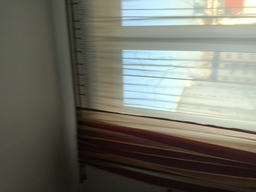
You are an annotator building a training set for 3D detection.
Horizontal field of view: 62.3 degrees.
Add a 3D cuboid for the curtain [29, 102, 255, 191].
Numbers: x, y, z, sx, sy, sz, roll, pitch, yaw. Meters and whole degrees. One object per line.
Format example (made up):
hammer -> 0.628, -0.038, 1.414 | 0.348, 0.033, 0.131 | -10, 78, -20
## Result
curtain -> 0.730, 0.530, 1.280 | 0.410, 2.830, 0.620 | -38, -49, -66
